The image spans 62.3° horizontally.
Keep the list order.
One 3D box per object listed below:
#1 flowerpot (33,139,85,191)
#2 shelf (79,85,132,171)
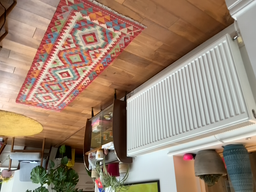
[{"bbox_3d":[-1.430,1.550,4.420,0.740,1.070,0.650,19,148,-36],"label":"flowerpot"},{"bbox_3d":[-0.290,0.420,2.540,0.220,0.810,0.810,15,149,-31],"label":"shelf"}]
